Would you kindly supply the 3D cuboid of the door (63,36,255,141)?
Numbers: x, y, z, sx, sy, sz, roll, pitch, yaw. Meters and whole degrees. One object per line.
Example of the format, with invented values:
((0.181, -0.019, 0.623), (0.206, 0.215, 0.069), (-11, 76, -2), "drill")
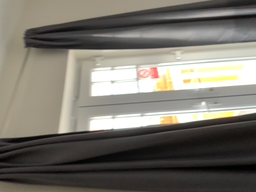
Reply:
((0.560, -0.140, 1.840), (0.050, 2.140, 0.910), (87, 178, -56), "door")
